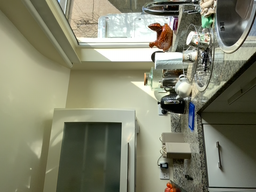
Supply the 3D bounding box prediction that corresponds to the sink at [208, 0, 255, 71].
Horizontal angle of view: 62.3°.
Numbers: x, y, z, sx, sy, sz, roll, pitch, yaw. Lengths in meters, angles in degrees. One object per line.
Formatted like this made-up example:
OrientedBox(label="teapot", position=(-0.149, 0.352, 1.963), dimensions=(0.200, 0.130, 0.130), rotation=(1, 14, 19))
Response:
OrientedBox(label="sink", position=(0.500, -0.400, 0.890), dimensions=(0.420, 0.150, 0.450), rotation=(81, -171, -71))
